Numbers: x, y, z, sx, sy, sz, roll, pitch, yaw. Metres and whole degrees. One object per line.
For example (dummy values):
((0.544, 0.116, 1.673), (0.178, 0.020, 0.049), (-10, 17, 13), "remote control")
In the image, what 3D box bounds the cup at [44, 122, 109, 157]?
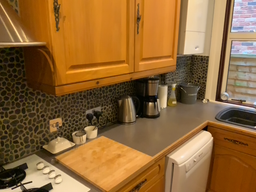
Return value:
((-0.340, 0.280, 1.440), (0.200, 0.050, 0.380), (14, 20, 40), "cup")

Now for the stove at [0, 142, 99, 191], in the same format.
((-0.560, 0.420, 0.940), (0.570, 0.040, 0.640), (13, 20, 39), "stove")

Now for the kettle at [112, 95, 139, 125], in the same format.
((-0.020, 0.110, 1.810), (0.160, 0.190, 0.170), (14, 20, 40), "kettle")
